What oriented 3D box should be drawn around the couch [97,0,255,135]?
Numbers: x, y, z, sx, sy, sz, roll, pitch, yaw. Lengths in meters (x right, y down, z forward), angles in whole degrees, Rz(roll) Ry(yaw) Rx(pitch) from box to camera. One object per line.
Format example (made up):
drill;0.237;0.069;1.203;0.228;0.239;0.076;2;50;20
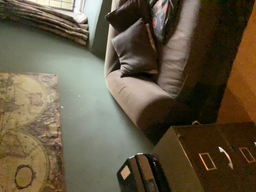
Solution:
couch;0.300;-0.560;1.930;1.130;0.720;1.350;-133;48;-56
